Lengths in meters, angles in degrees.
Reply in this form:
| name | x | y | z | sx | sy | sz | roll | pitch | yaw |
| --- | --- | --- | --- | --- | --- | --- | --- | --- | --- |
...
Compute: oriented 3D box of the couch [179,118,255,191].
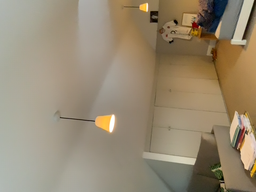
| name | x | y | z | sx | sy | sz | roll | pitch | yaw |
| --- | --- | --- | --- | --- | --- | --- | --- | --- | --- |
| couch | 1.220 | 1.310 | 2.870 | 0.900 | 0.780 | 1.850 | -75 | -13 | -50 |
